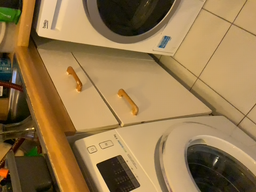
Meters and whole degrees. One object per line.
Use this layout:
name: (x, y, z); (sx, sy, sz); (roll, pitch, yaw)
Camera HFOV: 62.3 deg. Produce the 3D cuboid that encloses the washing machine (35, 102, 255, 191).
washing machine: (0.210, 0.490, 0.780); (0.620, 0.910, 0.640); (51, 129, 37)
